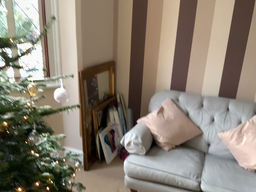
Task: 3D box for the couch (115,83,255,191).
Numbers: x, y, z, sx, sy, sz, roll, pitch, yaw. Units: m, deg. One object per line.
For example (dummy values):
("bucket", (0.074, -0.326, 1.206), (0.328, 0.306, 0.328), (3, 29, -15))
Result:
("couch", (0.760, 0.490, 2.060), (1.450, 0.830, 1.000), (10, 20, 21))
